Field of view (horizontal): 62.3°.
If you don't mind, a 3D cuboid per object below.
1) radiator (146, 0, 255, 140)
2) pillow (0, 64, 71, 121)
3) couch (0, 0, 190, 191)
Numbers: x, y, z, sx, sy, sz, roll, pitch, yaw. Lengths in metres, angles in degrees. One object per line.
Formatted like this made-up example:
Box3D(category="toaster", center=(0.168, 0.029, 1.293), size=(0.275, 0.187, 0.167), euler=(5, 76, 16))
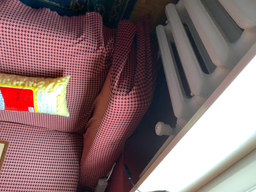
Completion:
Box3D(category="radiator", center=(0.300, -0.300, 0.780), size=(0.230, 0.710, 0.530), euler=(11, 134, -14))
Box3D(category="pillow", center=(-0.580, -0.030, 0.890), size=(0.640, 0.110, 0.190), euler=(8, 134, -11))
Box3D(category="couch", center=(-0.730, 0.050, 1.010), size=(1.490, 0.810, 1.070), euler=(12, 133, -15))
